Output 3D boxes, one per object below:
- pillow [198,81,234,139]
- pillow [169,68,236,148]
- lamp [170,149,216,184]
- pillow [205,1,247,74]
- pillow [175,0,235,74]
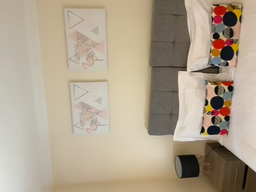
[{"bbox_3d":[0.890,0.140,2.170,0.100,0.270,0.570,-46,-41,-73],"label":"pillow"},{"bbox_3d":[0.780,0.120,2.310,0.230,0.580,0.780,-42,-44,-67],"label":"pillow"},{"bbox_3d":[0.750,0.820,2.490,0.270,0.430,0.250,-113,22,-73],"label":"lamp"},{"bbox_3d":[0.900,-0.540,1.990,0.180,0.250,0.620,-46,-41,-68],"label":"pillow"},{"bbox_3d":[0.750,-0.640,2.120,0.190,0.470,0.780,-48,-39,-67],"label":"pillow"}]
